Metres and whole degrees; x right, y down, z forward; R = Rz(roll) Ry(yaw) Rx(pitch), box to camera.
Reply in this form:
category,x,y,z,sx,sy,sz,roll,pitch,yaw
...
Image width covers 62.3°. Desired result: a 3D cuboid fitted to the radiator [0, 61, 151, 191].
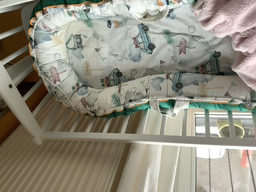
category,x,y,z,sx,sy,sz,roll,pitch,yaw
radiator,-0.300,0.140,0.990,0.670,0.830,0.190,-2,125,19
